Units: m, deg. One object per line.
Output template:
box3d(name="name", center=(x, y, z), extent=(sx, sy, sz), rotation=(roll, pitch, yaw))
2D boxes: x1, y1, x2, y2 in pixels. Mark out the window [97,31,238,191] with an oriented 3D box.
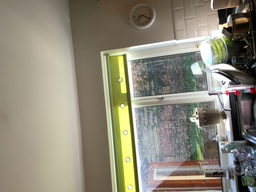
box3d(name="window", center=(0.380, 0.360, 2.190), extent=(0.160, 1.250, 1.850), rotation=(3, -99, -79))
